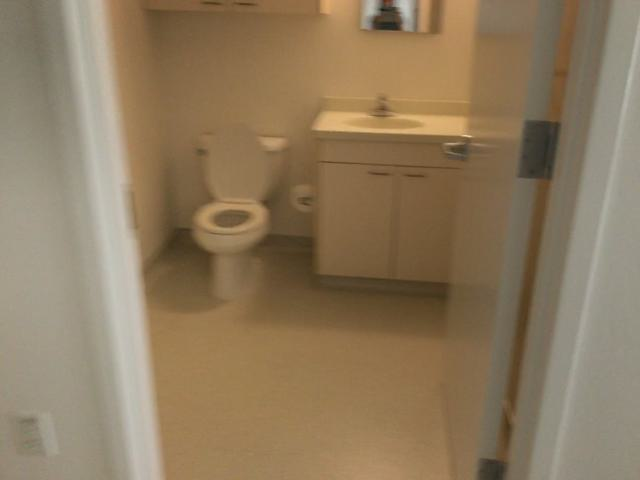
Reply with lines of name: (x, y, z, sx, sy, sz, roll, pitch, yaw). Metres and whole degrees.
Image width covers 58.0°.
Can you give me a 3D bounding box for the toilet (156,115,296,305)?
toilet: (-0.440, -0.190, 3.040, 0.500, 0.810, 0.720, 0, 21, 5)
